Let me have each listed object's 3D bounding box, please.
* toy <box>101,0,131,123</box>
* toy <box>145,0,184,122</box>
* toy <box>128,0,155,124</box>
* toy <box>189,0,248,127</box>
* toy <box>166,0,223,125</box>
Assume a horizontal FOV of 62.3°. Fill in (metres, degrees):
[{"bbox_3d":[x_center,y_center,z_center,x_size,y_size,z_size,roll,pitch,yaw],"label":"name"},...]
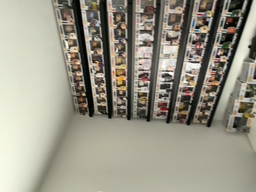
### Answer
[{"bbox_3d":[-0.090,-0.500,1.760,0.210,0.200,1.730,-80,-7,-55],"label":"toy"},{"bbox_3d":[0.300,-0.510,1.740,0.210,0.190,1.740,-80,-7,-54],"label":"toy"},{"bbox_3d":[0.110,-0.500,1.730,0.180,0.160,1.810,-80,-7,-53],"label":"toy"},{"bbox_3d":[0.740,-0.470,1.680,0.190,0.140,1.810,-80,-7,-52],"label":"toy"},{"bbox_3d":[0.530,-0.470,1.690,0.190,0.230,1.720,-80,-7,-54],"label":"toy"}]
